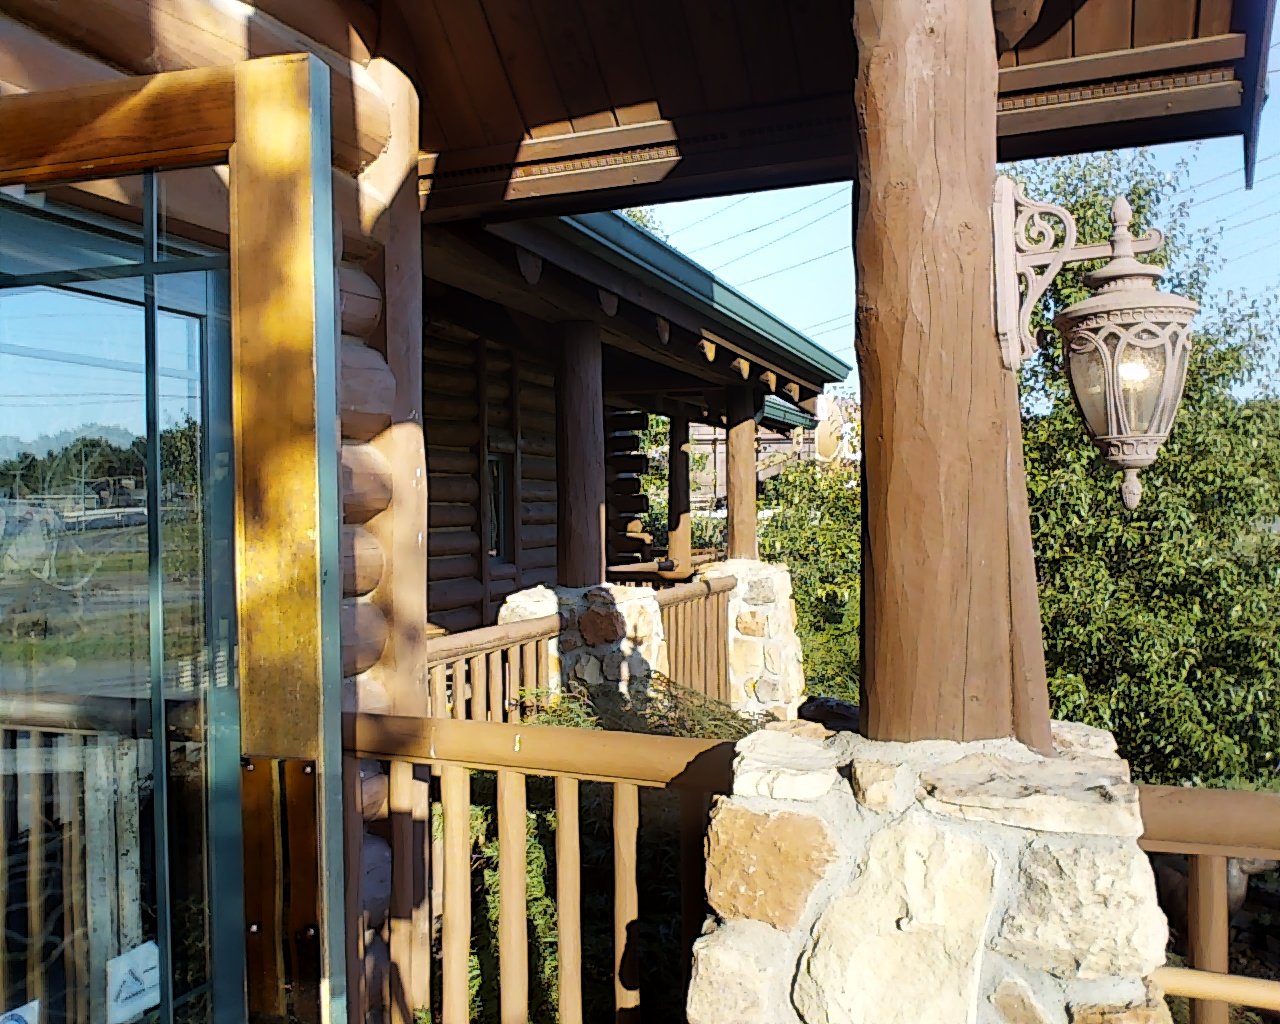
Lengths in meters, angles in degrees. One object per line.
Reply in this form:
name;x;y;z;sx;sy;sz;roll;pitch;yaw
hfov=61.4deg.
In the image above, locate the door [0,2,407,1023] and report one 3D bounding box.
door;-0.790;0.480;1.400;1.010;2.100;0.110;0;0;15
